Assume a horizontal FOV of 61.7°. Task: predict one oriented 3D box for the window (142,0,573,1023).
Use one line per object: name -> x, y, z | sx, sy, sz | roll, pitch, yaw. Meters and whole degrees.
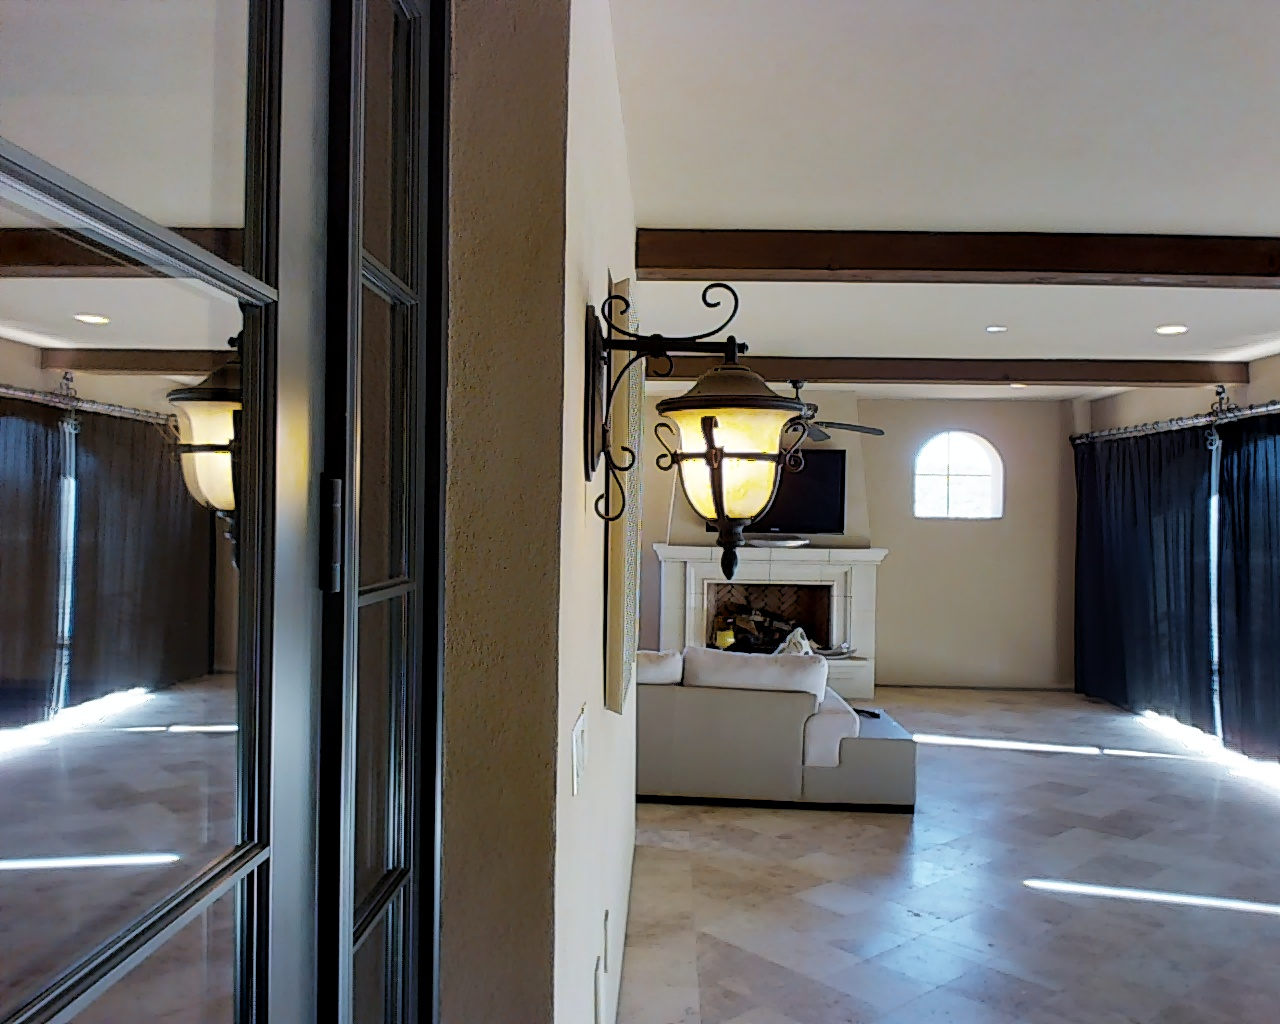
window -> -0.310, 0.330, 1.330 | 0.370, 2.380, 0.500 | 1, 0, 1
